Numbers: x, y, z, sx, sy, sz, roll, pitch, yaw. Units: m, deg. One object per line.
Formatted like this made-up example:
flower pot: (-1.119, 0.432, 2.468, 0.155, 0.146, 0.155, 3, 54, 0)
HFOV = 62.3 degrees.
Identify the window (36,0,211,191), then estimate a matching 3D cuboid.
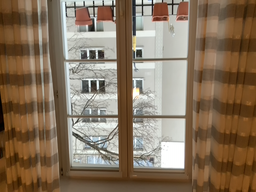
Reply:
window: (-0.050, -0.450, 1.880, 1.460, 2.690, 0.130, 0, -171, 4)
